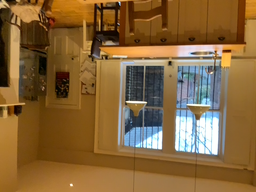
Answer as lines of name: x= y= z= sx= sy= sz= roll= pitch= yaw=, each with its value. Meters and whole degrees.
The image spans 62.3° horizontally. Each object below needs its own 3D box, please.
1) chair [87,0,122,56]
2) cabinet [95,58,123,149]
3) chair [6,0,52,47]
chair: x=-0.390 y=-1.230 z=3.620 sx=0.470 sy=1.030 sz=0.400 roll=3 pitch=-178 yaw=11
cabinet: x=-0.480 y=0.180 z=5.400 sx=0.560 sy=2.220 sz=0.270 roll=3 pitch=-178 yaw=13
chair: x=-1.660 y=-1.350 z=3.610 sx=0.520 sy=0.910 sz=0.490 roll=2 pitch=-178 yaw=4
